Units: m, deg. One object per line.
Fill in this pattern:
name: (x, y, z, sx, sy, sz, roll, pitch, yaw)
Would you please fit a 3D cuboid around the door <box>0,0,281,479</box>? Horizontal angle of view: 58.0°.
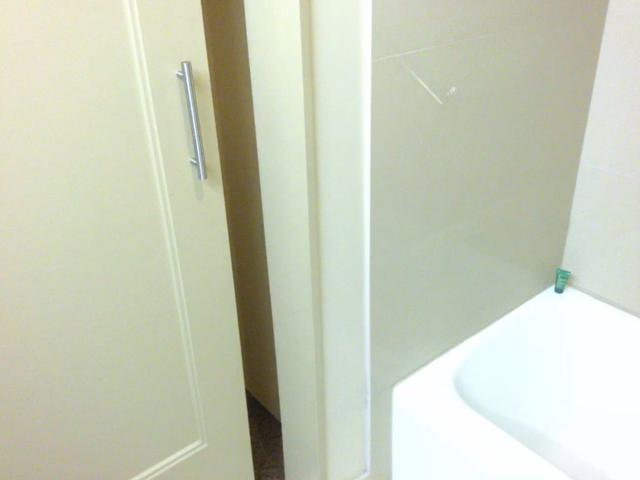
door: (-0.480, 0.190, 0.980, 0.840, 1.390, 0.100, -23, 35, -32)
